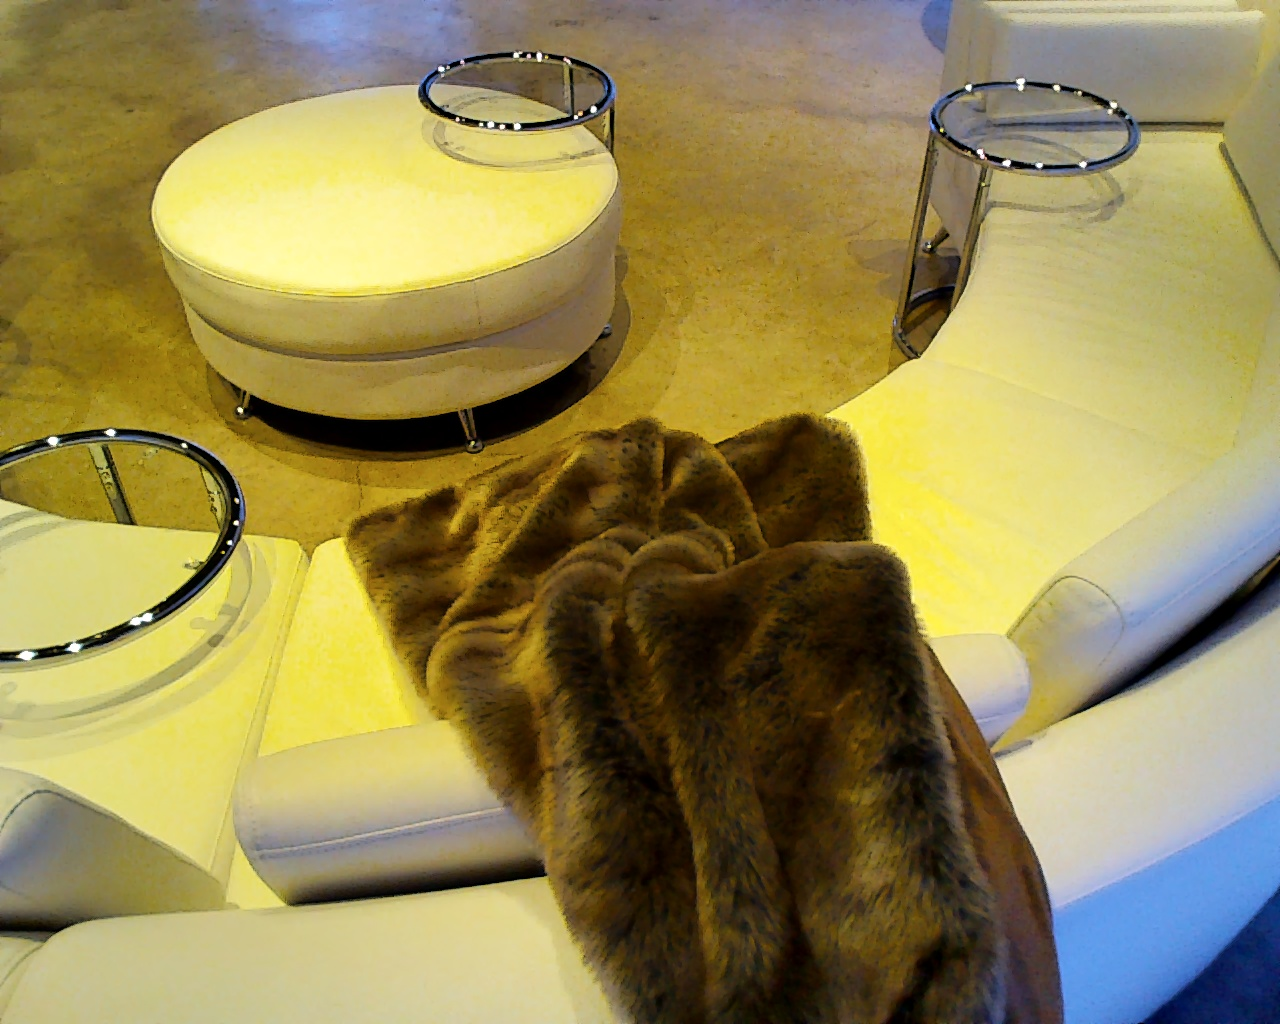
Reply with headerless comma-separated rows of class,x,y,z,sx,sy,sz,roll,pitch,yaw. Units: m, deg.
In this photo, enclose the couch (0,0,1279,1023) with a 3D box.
couch,-0.420,-0.270,1.850,4.461,0.860,2.770,-2,43,-3
